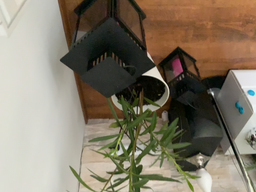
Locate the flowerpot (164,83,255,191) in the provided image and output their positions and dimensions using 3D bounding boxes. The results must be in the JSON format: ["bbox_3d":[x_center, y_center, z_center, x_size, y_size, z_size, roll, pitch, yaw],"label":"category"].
[{"bbox_3d":[0.420,0.370,1.190,0.230,0.910,0.340,2,137,-5],"label":"flowerpot"}]
